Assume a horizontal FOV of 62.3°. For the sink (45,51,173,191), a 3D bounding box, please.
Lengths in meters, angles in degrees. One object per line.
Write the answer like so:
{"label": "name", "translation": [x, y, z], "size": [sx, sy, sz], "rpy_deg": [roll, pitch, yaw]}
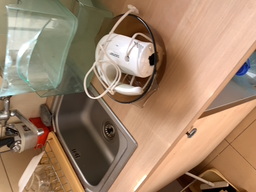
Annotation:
{"label": "sink", "translation": [-0.130, 0.120, 0.920], "size": [0.480, 0.200, 0.410], "rpy_deg": [50, 128, 29]}
